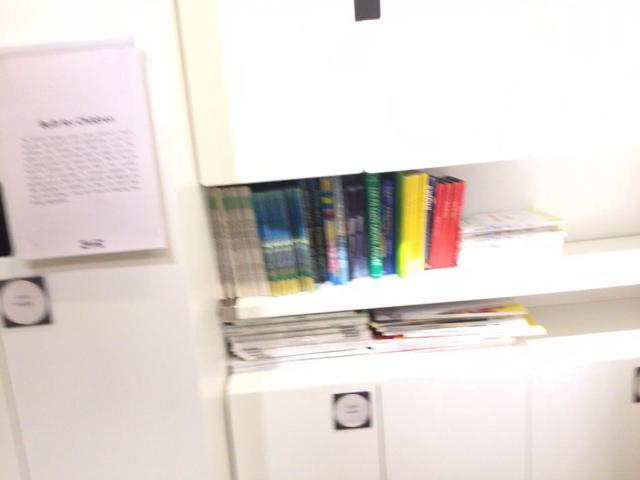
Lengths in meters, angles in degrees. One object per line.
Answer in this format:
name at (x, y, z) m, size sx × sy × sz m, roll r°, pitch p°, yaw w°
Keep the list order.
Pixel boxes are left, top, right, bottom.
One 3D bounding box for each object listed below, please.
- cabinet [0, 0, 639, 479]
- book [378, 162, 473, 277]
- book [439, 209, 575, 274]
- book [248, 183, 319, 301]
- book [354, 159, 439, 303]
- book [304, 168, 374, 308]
cabinet at (0.390, 0.180, 1.140) m, size 2.370 × 2.000 × 0.650 m, roll -4°, pitch 12°, yaw 3°
book at (0.230, -0.050, 1.280) m, size 0.180 × 0.220 × 0.140 m, roll -4°, pitch 12°, yaw 3°
book at (0.410, 0.000, 1.300) m, size 0.250 × 0.090 × 0.180 m, roll -4°, pitch 12°, yaw 3°
book at (-0.070, 0.000, 1.190) m, size 0.110 × 0.210 × 0.140 m, roll -4°, pitch 12°, yaw 3°
book at (0.150, -0.030, 1.190) m, size 0.140 × 0.240 × 0.250 m, roll -4°, pitch 12°, yaw 3°
book at (0.040, -0.010, 1.140) m, size 0.110 × 0.240 × 0.160 m, roll -4°, pitch 12°, yaw 3°
